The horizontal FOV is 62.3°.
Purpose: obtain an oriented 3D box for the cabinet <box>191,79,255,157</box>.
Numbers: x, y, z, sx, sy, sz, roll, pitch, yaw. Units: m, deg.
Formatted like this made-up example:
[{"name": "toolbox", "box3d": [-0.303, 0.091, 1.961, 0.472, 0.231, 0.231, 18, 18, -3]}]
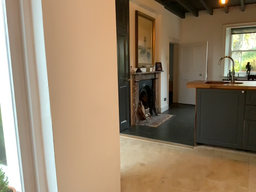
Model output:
[{"name": "cabinet", "box3d": [1.700, 0.270, 2.940, 1.470, 0.920, 0.620, 4, 10, 29]}]
